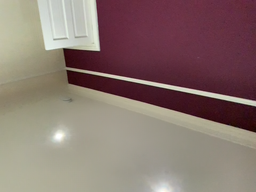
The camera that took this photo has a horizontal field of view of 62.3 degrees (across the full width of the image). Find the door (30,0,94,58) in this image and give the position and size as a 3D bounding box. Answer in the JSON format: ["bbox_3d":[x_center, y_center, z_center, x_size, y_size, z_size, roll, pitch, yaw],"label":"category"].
[{"bbox_3d":[-0.860,-1.560,2.590,0.120,2.050,0.790,15,-153,38],"label":"door"}]
